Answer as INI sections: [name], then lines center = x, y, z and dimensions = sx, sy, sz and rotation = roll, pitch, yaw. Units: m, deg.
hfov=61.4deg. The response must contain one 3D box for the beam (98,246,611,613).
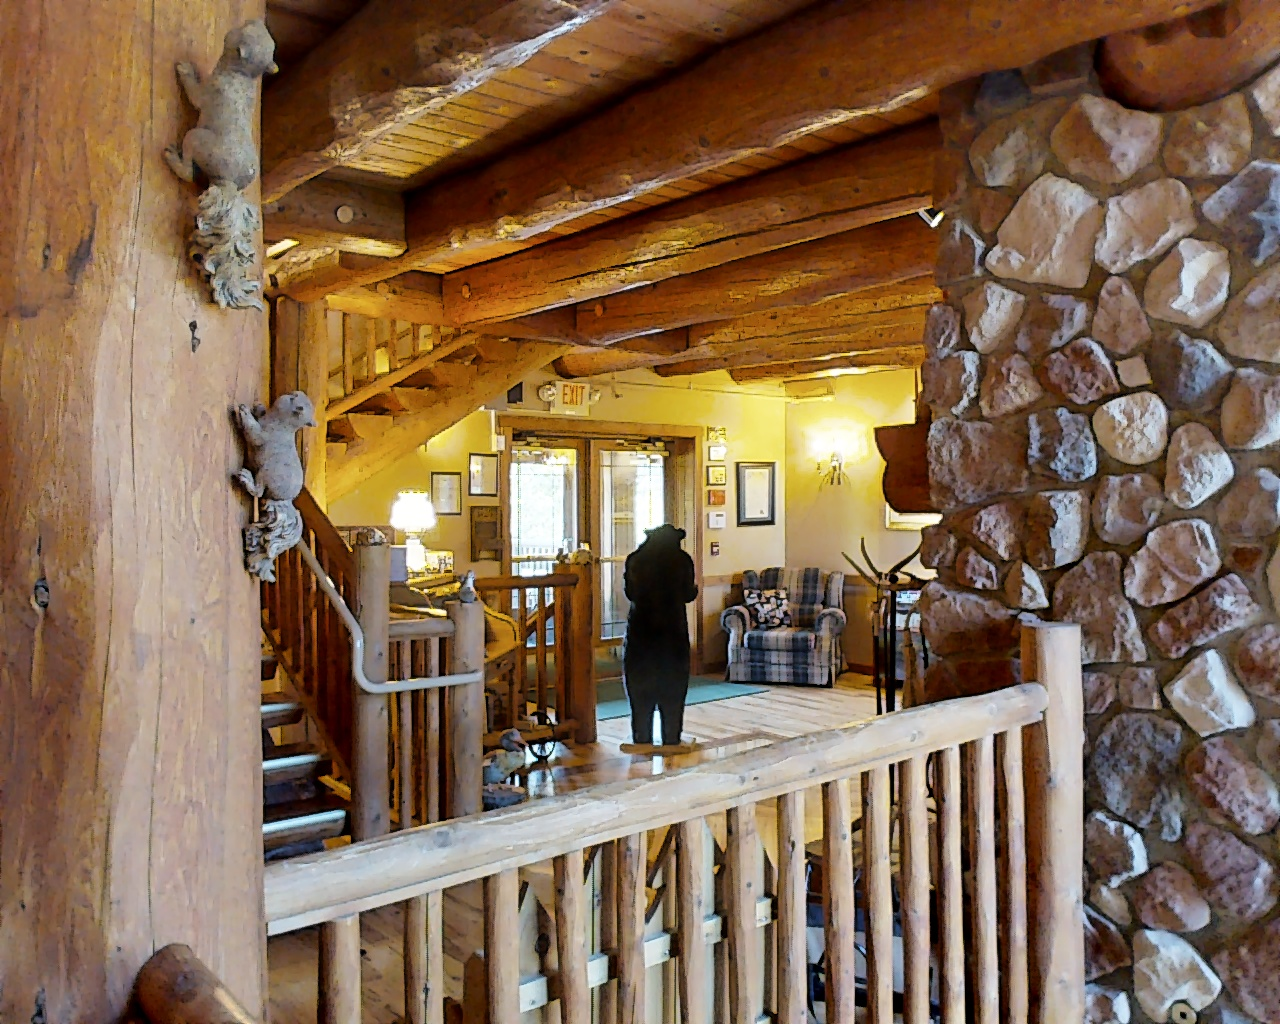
[beam]
center = -1.700, -0.440, 6.790
dimensions = 2.820, 1.830, 1.310
rotation = -1, 2, -40
